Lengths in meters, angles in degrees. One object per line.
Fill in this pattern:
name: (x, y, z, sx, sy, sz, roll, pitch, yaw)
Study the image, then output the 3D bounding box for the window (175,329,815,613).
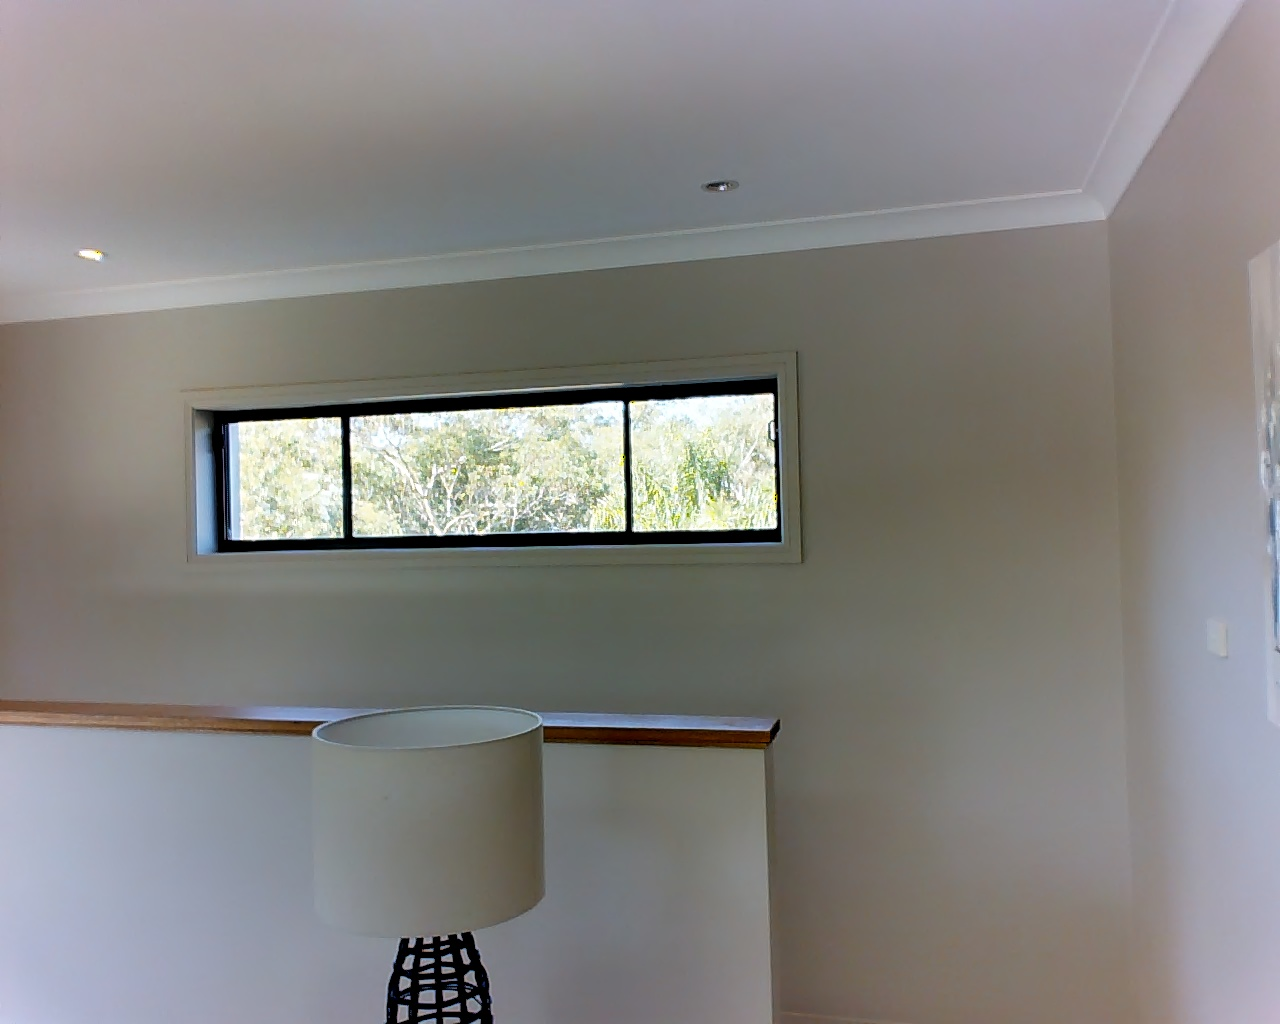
window: (-0.620, -0.110, 4.230, 2.539, 0.980, 0.380, -2, -1, 15)

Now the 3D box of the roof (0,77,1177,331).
roof: (-0.860, -0.900, 3.600, 4.649, 0.130, 1.050, -1, -1, 15)
